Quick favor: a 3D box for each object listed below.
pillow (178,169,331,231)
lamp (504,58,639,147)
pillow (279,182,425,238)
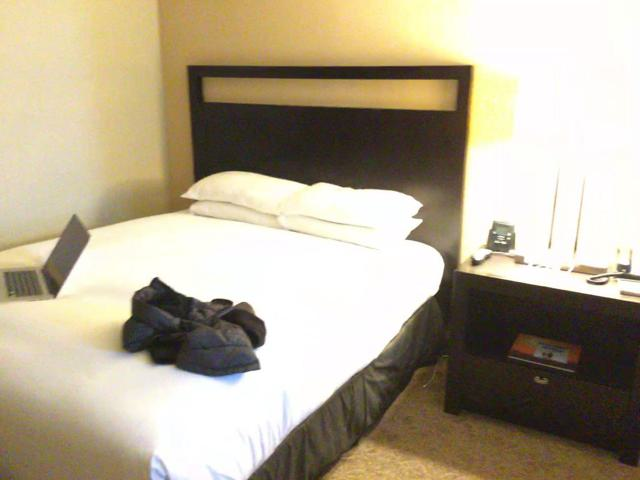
[{"bbox_3d":[-0.340,-0.230,3.060,0.670,0.260,0.420,4,12,27],"label":"pillow"},{"bbox_3d":[1.020,-0.540,2.330,0.470,0.310,0.340,4,12,27],"label":"lamp"},{"bbox_3d":[0.160,-0.160,2.790,0.600,0.200,0.370,4,12,27],"label":"pillow"}]
